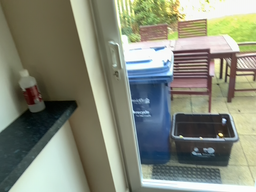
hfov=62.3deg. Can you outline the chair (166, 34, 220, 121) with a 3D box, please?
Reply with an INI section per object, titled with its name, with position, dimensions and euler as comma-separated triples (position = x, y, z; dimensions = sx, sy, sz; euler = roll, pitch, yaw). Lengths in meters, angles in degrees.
[chair]
position = 0.800, -0.240, 2.730
dimensions = 0.550, 0.900, 0.640
euler = -2, 28, 13
